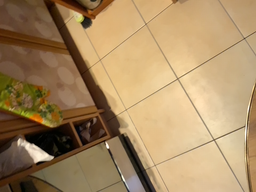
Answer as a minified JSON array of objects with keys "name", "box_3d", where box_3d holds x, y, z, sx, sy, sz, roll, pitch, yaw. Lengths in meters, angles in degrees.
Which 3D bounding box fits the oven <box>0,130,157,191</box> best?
[{"name":"oven","box_3d":[-0.290,0.570,0.960,0.610,0.700,0.490,-32,79,23]}]

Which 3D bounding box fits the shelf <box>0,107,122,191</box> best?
[{"name":"shelf","box_3d":[-0.480,0.300,0.950,0.590,0.850,0.160,-32,79,23]}]
